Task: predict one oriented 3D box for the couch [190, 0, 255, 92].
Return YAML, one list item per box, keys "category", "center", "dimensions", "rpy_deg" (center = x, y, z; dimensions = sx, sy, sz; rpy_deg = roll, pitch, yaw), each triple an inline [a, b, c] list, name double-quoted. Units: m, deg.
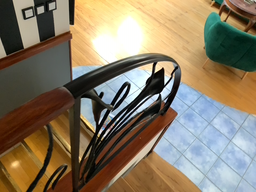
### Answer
- category: "couch"
  center: [1.580, -0.770, 3.150]
  dimensions: [0.970, 0.820, 0.830]
  rpy_deg: [19, 51, 0]
